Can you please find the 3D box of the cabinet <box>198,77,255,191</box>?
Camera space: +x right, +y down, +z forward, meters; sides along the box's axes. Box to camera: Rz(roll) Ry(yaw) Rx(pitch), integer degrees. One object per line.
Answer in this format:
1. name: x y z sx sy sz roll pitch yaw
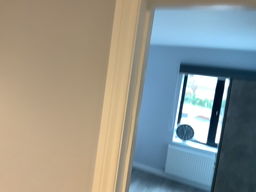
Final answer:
1. cabinet: 1.130 0.790 2.310 0.570 1.890 0.750 10 5 21
